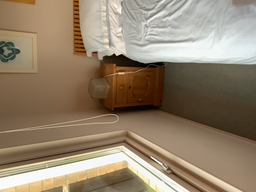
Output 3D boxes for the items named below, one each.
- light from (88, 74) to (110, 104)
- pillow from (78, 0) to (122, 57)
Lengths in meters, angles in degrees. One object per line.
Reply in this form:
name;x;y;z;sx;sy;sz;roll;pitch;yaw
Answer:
light;-0.300;-0.080;2.150;0.210;0.150;0.270;17;108;56
pillow;-0.280;-0.730;2.000;0.430;0.250;0.700;16;107;56
